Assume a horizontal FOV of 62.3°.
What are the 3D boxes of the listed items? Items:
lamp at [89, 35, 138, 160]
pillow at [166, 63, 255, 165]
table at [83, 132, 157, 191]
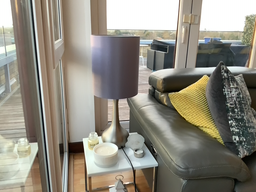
[{"bbox_3d":[-0.090,-0.010,1.160,0.210,0.620,0.280,-2,17,-12],"label":"lamp"},{"bbox_3d":[0.470,0.110,1.250,0.180,0.450,0.410,35,52,18],"label":"pillow"},{"bbox_3d":[-0.070,0.480,1.240,0.350,0.390,0.350,-3,17,-13],"label":"table"}]
